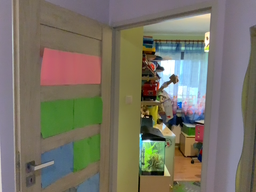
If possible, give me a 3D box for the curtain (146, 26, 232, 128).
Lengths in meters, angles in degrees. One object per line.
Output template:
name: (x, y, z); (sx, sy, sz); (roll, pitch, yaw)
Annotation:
curtain: (1.300, -0.380, 4.630); (1.720, 2.120, 0.210); (1, 5, -3)
